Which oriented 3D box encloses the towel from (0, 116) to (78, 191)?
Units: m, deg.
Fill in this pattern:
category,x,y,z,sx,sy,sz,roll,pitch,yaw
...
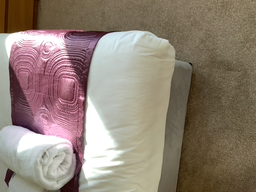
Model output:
category,x,y,z,sx,sy,sz,roll,pitch,yaw
towel,-0.360,0.200,0.720,0.410,0.120,0.190,7,97,34
